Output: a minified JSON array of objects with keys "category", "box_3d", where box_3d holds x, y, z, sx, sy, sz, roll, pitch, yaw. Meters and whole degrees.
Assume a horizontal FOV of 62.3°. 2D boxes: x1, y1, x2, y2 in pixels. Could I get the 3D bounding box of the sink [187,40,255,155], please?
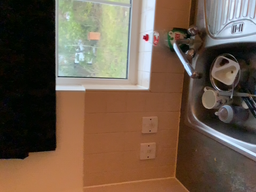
[{"category":"sink","box_3d":[0.430,-0.020,0.830,0.410,0.150,0.360,-151,63,-69]}]
